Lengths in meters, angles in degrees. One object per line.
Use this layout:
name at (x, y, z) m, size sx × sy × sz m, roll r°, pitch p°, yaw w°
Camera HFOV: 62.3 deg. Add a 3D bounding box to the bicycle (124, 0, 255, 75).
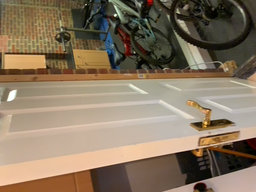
bicycle at (0.390, -1.060, 1.970) m, size 0.550 × 0.720 × 1.720 m, roll 122°, pitch 138°, yaw -53°
